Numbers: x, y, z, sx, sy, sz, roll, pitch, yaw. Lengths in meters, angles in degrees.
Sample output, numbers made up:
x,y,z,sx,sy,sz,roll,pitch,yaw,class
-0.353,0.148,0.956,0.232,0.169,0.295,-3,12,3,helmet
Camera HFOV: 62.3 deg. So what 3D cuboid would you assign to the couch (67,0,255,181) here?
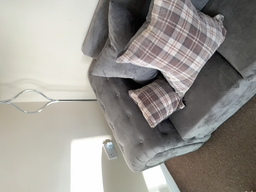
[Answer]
x,y,z,sx,sy,sz,roll,pitch,yaw,class
0.350,-0.420,1.240,0.930,0.750,1.650,59,133,34,couch
